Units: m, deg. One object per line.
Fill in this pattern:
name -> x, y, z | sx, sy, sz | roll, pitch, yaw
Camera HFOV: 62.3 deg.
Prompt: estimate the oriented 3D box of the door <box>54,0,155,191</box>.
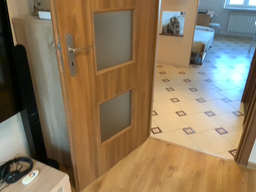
door -> -0.080, -0.330, 1.430 | 0.080, 2.040, 0.830 | 20, 33, 31
